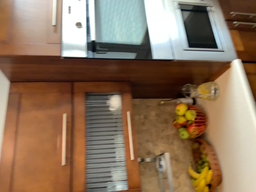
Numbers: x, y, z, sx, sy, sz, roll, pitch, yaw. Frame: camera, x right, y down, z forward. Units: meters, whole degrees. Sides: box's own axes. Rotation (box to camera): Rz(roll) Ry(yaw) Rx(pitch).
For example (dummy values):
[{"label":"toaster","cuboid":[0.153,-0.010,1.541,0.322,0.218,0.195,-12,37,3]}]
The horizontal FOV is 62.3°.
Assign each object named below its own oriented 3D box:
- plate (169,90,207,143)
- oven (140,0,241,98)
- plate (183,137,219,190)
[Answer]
[{"label":"plate","cuboid":[0.430,0.150,1.560,0.200,0.140,0.340,115,151,-66]},{"label":"oven","cuboid":[0.380,-0.370,1.560,0.580,0.400,0.580,115,152,-65]},{"label":"plate","cuboid":[0.490,0.460,1.450,0.160,0.110,0.320,116,151,-66]}]
